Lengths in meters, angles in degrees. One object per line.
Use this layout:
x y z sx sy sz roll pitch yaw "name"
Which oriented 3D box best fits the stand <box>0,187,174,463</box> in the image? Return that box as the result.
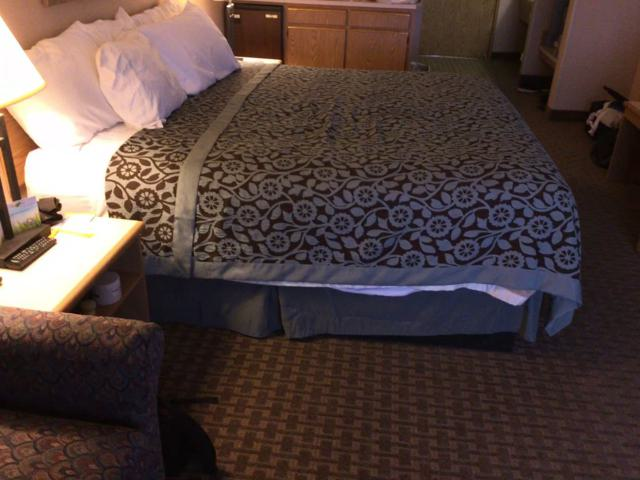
-0.890 0.230 1.860 0.570 0.590 0.650 1 28 6 "stand"
